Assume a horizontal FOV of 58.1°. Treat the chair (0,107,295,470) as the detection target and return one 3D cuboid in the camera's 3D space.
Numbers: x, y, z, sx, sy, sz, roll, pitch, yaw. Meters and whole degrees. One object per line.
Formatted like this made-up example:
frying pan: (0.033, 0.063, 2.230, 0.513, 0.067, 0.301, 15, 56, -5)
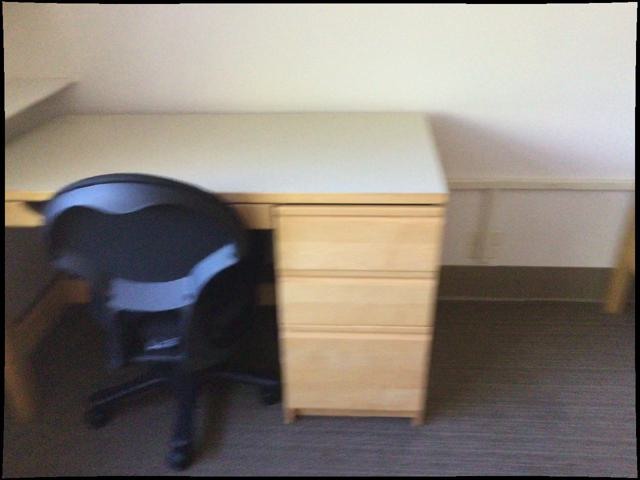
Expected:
chair: (-0.439, 0.130, 1.660, 0.618, 0.862, 0.560, 0, 30, 5)
